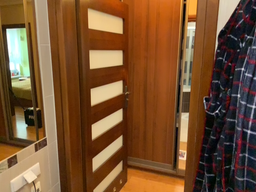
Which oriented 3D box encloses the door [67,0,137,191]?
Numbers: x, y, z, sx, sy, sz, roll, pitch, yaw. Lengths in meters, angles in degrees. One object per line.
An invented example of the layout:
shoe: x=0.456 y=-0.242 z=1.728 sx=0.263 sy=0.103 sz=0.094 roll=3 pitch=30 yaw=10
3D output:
door: x=-0.190 y=0.060 z=2.060 sx=0.180 sy=2.100 sz=0.820 roll=7 pitch=14 yaw=27
